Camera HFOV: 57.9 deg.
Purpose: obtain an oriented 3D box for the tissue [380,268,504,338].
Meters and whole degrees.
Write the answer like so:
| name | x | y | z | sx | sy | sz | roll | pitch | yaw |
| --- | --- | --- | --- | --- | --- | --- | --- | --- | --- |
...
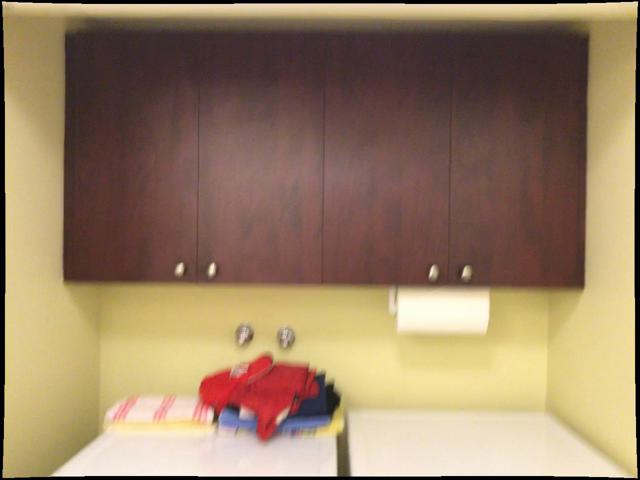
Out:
| name | x | y | z | sx | sy | sz | roll | pitch | yaw |
| --- | --- | --- | --- | --- | --- | --- | --- | --- | --- |
| tissue | 0.370 | 0.190 | 1.800 | 0.350 | 0.190 | 0.190 | 0 | 1 | 3 |

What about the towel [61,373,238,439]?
| name | x | y | z | sx | sy | sz | roll | pitch | yaw |
| --- | --- | --- | --- | --- | --- | --- | --- | --- | --- |
| towel | -0.519 | 0.521 | 1.850 | 0.450 | 0.090 | 0.360 | 0 | 1 | 3 |
